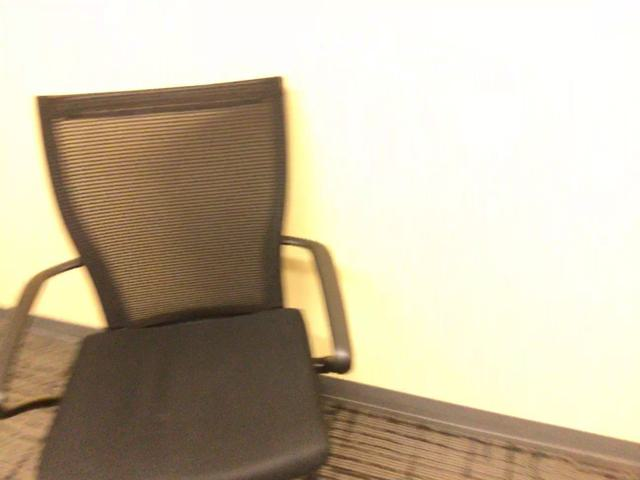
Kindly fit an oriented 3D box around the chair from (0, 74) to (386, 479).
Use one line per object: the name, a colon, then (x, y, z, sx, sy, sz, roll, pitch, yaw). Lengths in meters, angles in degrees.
chair: (-0.230, 0.240, 1.110, 0.600, 0.930, 0.540, -5, 31, -4)
